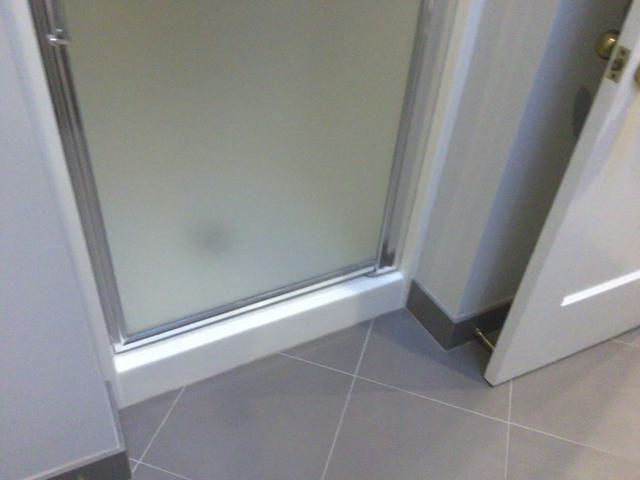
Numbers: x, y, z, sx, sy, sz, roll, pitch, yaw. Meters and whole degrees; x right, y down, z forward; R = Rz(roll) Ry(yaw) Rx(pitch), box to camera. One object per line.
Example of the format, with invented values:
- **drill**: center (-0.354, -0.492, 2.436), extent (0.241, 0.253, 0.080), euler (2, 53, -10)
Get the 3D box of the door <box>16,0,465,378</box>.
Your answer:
- **door**: center (-0.080, -0.450, 1.000), extent (0.810, 1.570, 0.110), euler (-16, 43, -26)
